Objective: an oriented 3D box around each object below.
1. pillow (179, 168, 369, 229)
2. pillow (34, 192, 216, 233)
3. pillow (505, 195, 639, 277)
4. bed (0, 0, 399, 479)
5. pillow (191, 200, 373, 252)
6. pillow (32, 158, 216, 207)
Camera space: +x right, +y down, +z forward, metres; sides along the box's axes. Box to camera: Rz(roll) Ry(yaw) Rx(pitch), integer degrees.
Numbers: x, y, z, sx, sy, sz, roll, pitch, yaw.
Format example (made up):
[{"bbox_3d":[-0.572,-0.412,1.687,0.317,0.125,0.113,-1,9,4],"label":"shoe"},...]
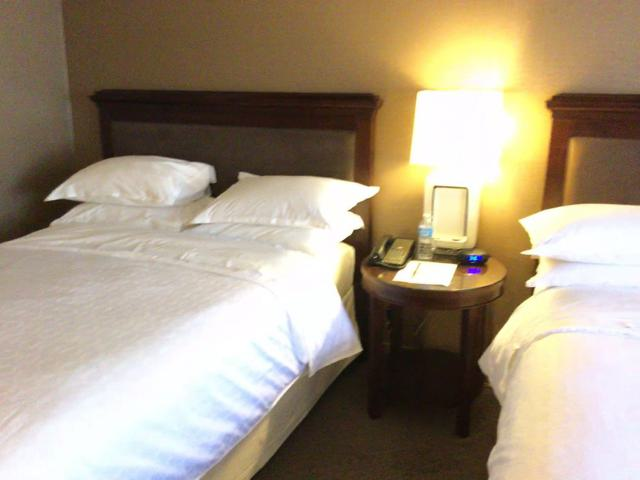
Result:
[{"bbox_3d":[-0.200,-0.210,2.680,0.750,0.220,0.450,3,11,22],"label":"pillow"},{"bbox_3d":[-0.980,-0.150,2.940,0.800,0.140,0.380,2,10,17],"label":"pillow"},{"bbox_3d":[1.090,-0.030,2.150,0.720,0.210,0.540,3,11,22],"label":"pillow"},{"bbox_3d":[-0.960,0.100,2.190,2.010,1.640,2.130,3,11,22],"label":"bed"},{"bbox_3d":[-0.170,-0.080,2.710,0.740,0.150,0.420,4,11,24],"label":"pillow"},{"bbox_3d":[-0.990,-0.310,2.960,0.770,0.220,0.460,3,9,21],"label":"pillow"}]
